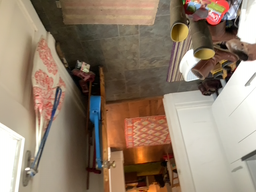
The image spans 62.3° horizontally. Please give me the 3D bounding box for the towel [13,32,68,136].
[{"bbox_3d":[-0.510,-0.050,1.340,0.110,0.470,0.480,-6,152,-1],"label":"towel"}]

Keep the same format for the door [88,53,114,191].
[{"bbox_3d":[-0.200,0.720,1.800,0.150,2.080,0.830,-4,152,-5],"label":"door"}]
